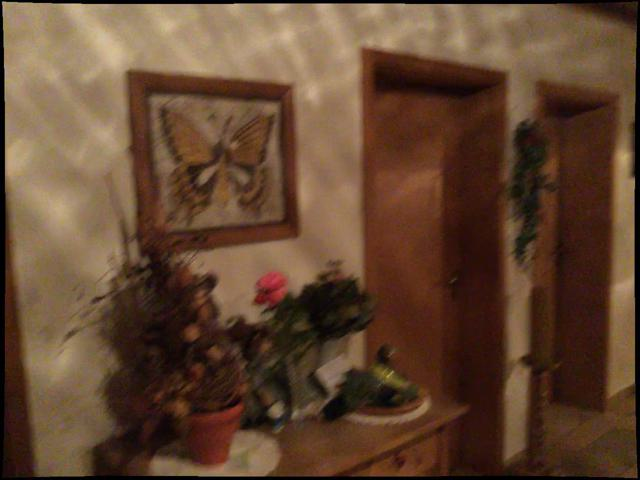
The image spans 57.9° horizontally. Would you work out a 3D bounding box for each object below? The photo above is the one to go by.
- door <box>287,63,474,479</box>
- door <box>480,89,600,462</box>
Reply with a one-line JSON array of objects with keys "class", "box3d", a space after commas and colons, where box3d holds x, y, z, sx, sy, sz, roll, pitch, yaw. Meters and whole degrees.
[{"class": "door", "box3d": [0.330, 0.260, 2.610, 1.009, 1.952, 0.110, -7, 9, -38]}, {"class": "door", "box3d": [1.299, 0.180, 3.390, 0.869, 1.992, 0.190, -6, 8, -39]}]
